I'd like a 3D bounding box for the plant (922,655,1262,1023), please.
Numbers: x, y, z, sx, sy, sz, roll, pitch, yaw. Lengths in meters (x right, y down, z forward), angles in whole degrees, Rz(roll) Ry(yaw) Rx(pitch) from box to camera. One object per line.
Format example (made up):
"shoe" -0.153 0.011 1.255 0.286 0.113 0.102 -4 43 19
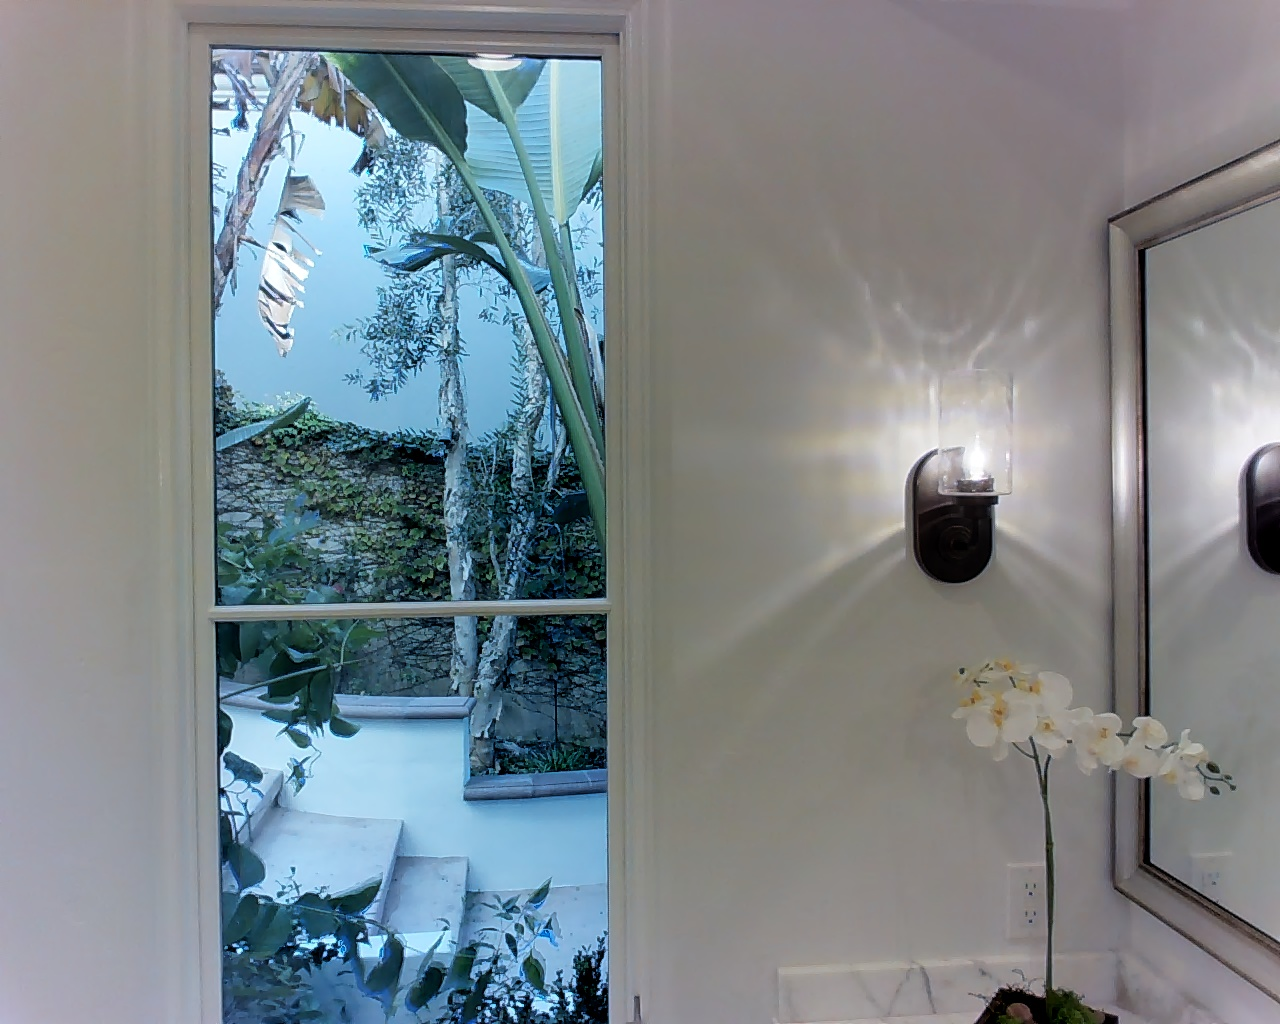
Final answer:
"plant" 0.580 0.490 1.440 0.280 0.540 0.370 -1 0 -4
